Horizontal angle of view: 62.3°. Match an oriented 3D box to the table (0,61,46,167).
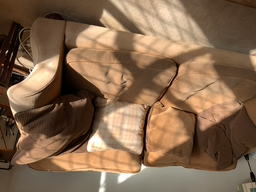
[{"bbox_3d":[-1.060,0.150,1.840,0.530,0.810,0.370,8,148,-17],"label":"table"}]
